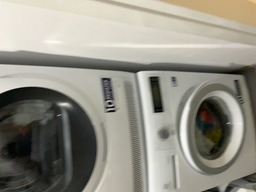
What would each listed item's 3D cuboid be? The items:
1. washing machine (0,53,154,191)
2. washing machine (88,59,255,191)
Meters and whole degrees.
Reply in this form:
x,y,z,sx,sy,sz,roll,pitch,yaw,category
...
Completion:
x,y,z,sx,sy,sz,roll,pitch,yaw,category
-0.430,0.220,1.000,0.690,0.800,0.620,-17,77,59,washing machine
0.300,0.200,1.390,0.750,0.860,0.620,-17,77,59,washing machine
